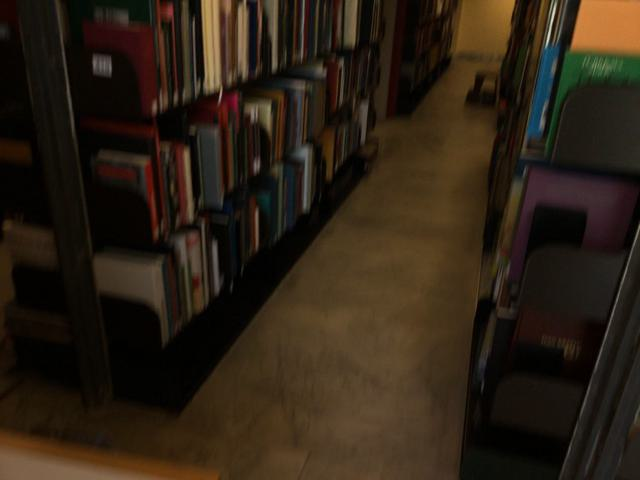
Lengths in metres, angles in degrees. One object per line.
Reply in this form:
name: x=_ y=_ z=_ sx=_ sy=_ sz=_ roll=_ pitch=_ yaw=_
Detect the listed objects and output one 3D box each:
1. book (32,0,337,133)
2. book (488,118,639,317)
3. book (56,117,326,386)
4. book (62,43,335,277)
book: x=-0.330 y=-0.830 z=2.160 sx=0.390 sy=0.460 sz=1.590 roll=8 pitch=25 yaw=14
book: x=0.590 y=-0.060 z=1.390 sx=0.300 sy=0.400 sz=0.190 roll=8 pitch=25 yaw=14
book: x=-0.370 y=-0.090 z=2.360 sx=0.390 sy=0.480 sz=1.480 roll=8 pitch=25 yaw=14
book: x=-0.310 y=-0.450 z=2.300 sx=0.310 sy=0.470 sz=1.630 roll=8 pitch=25 yaw=14
